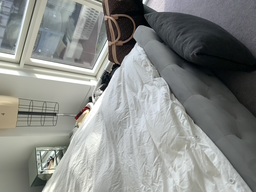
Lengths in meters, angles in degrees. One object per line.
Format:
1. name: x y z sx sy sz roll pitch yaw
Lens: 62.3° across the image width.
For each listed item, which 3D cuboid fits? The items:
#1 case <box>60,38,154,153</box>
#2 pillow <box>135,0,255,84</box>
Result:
1. case: -0.280 0.070 2.100 1.200 0.350 0.360 -54 45 32
2. pillow: 0.370 -0.340 1.170 0.190 0.470 0.520 -55 45 32
